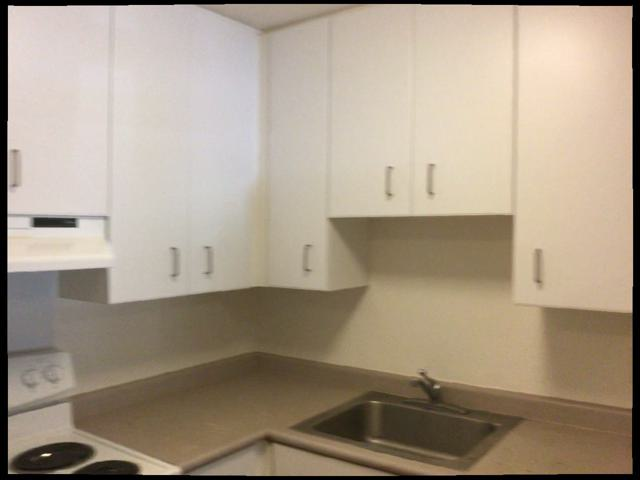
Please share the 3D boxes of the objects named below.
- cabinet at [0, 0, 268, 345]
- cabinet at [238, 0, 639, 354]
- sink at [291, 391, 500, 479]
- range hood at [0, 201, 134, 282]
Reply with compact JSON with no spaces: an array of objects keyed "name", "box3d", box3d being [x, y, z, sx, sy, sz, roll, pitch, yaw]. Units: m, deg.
[{"name":"cabinet","box3d":[-0.898,-0.291,1.760,0.350,1.112,1.849,4,6,35]},{"name":"cabinet","box3d":[0.719,-0.291,1.840,2.317,1.132,0.400,4,6,36]},{"name":"sink","box3d":[0.260,0.731,1.970,0.559,0.200,0.450,4,6,36]},{"name":"range hood","box3d":[-0.878,0.000,1.510,0.200,0.200,0.780,4,6,35]}]
